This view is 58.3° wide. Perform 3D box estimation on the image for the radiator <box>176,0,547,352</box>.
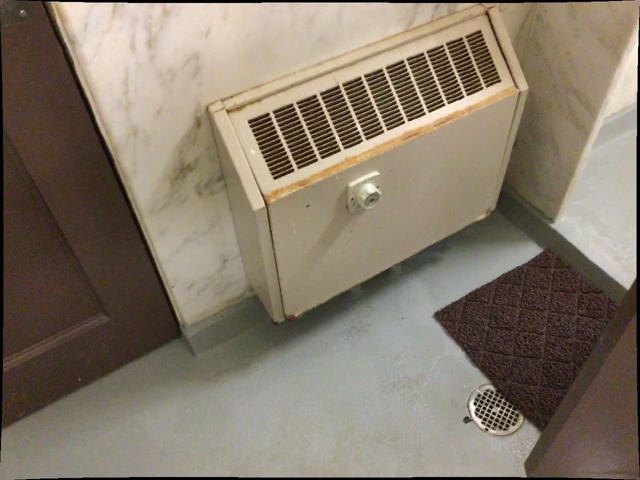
[{"bbox_3d":[0.110,-0.140,1.280,0.720,0.530,0.200,-27,52,-20],"label":"radiator"}]
